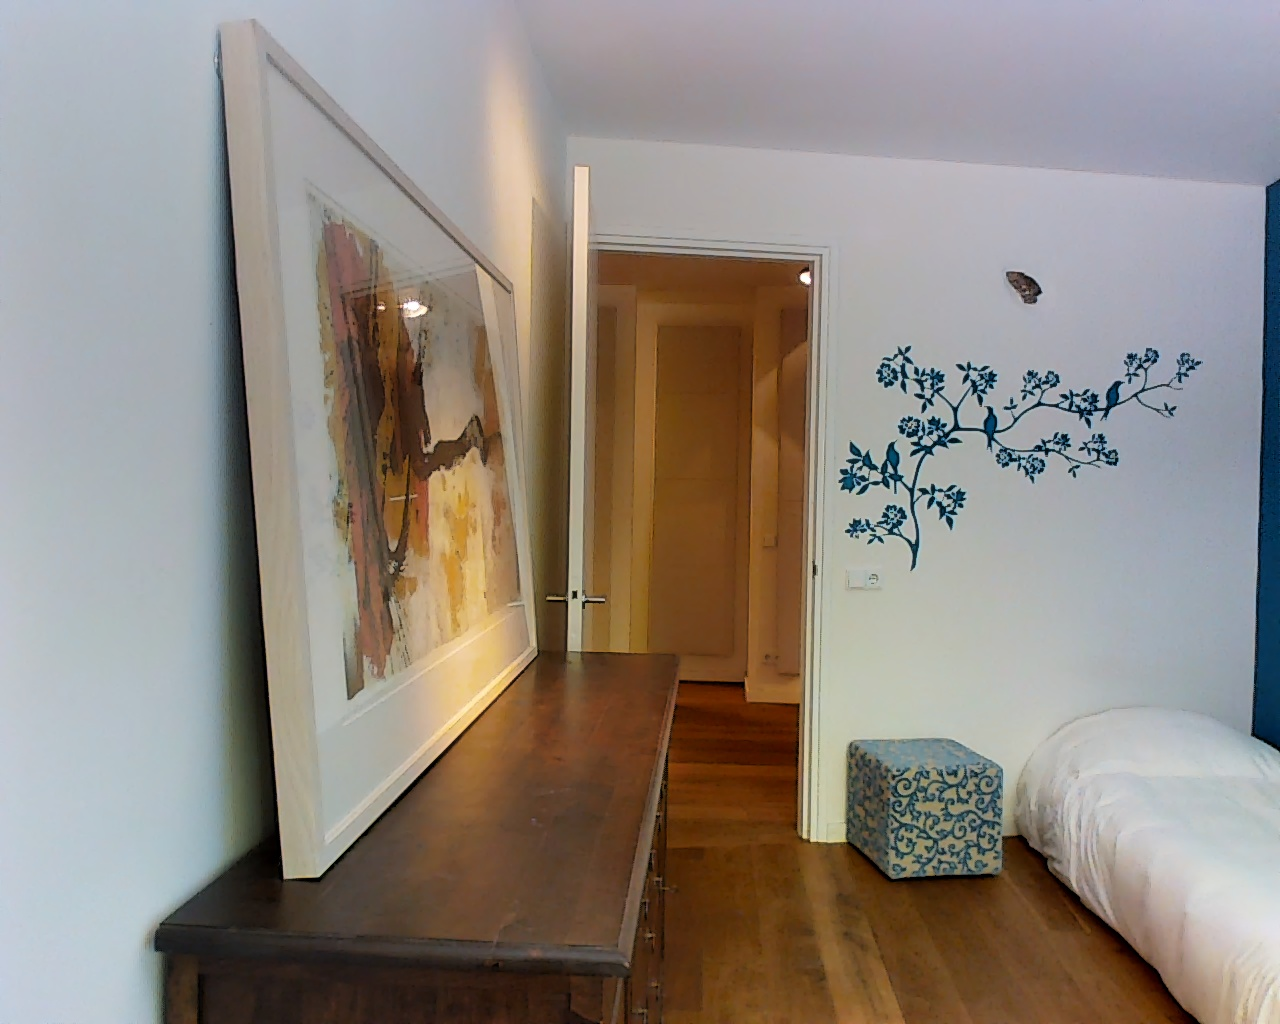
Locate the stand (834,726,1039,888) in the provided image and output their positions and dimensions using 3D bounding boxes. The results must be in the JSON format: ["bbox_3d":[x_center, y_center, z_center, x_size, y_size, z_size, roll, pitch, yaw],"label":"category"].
[{"bbox_3d":[1.100,1.090,4.060,0.570,0.440,0.510,1,2,-10],"label":"stand"}]
